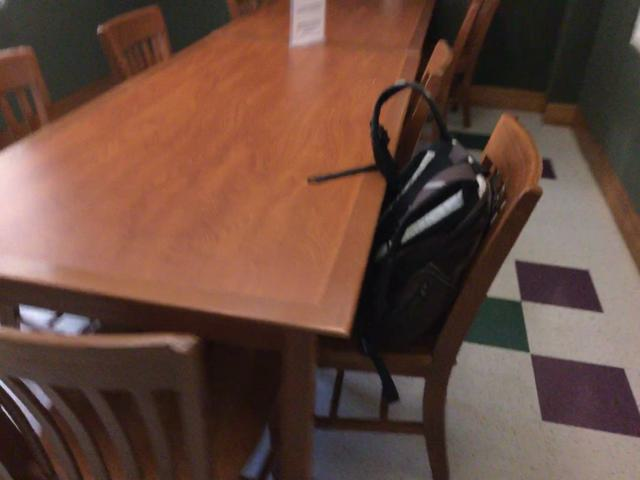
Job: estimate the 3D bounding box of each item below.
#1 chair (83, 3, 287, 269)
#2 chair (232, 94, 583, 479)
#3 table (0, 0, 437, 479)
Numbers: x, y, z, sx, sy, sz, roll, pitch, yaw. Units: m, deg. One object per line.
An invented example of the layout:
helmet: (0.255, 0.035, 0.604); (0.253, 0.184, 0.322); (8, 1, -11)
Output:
chair: (-0.480, -0.430, 2.350); (0.580, 0.880, 0.520); (8, 32, 8)
chair: (0.170, 0.160, 1.450); (0.620, 0.870, 0.470); (8, 32, 8)
table: (-0.090, -0.540, 2.600); (1.070, 0.810, 3.570); (8, 32, 8)
